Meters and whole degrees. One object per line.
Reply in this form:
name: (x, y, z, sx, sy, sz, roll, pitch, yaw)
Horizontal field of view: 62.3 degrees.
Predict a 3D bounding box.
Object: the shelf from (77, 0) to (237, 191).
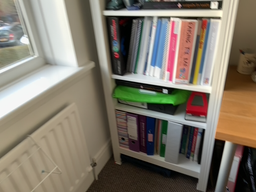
shelf: (0.150, -0.350, 1.080, 0.690, 1.880, 0.330, 10, 34, 24)
